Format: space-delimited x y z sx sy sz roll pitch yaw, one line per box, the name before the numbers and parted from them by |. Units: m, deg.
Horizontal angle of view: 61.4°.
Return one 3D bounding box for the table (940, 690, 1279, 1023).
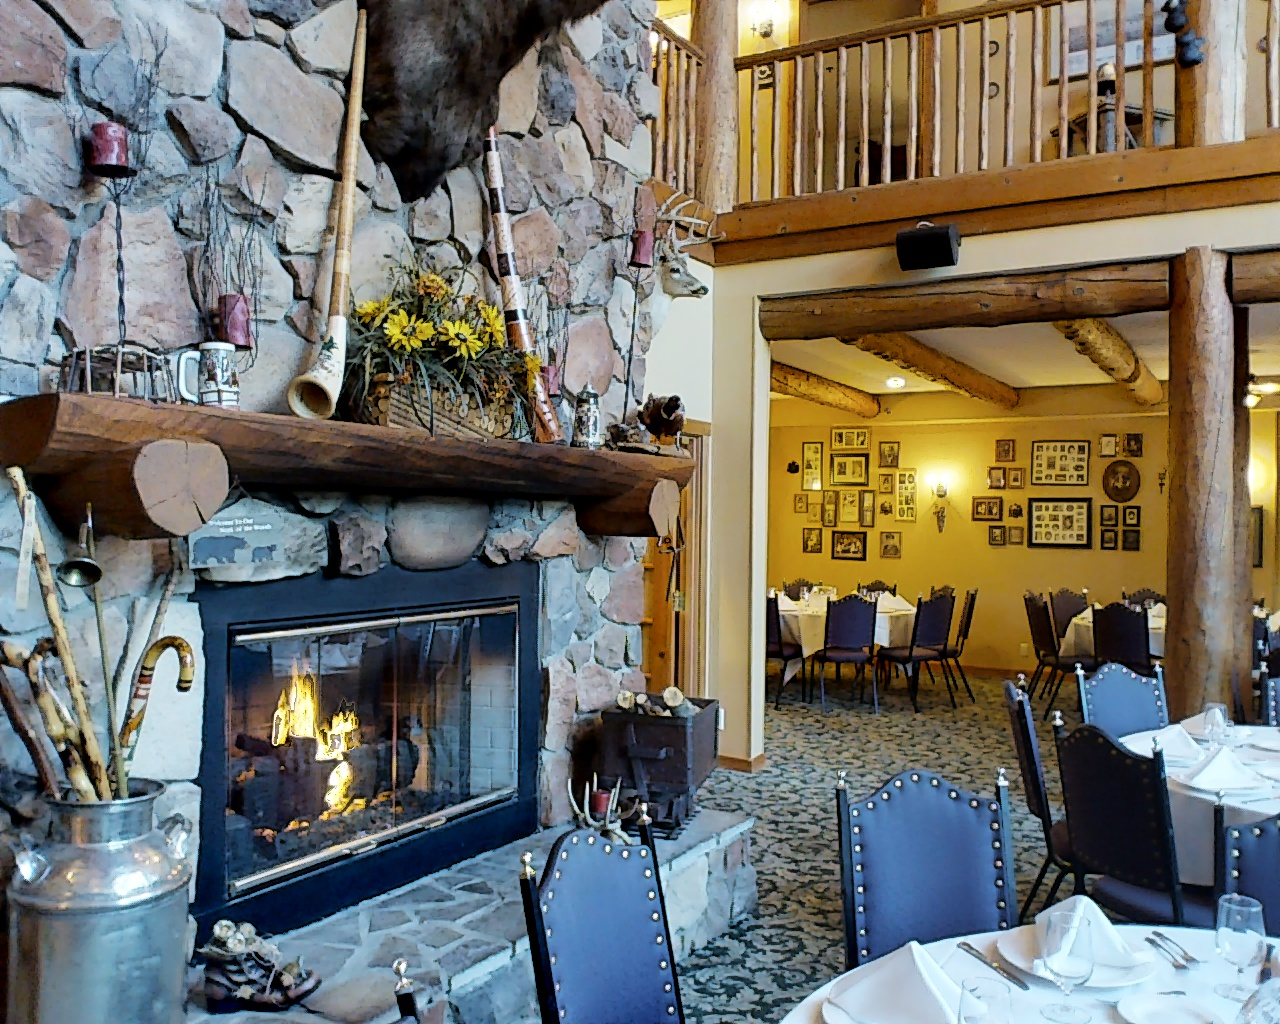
table | 2.299 1.140 3.470 1.830 0.720 1.820 1 0 -37
